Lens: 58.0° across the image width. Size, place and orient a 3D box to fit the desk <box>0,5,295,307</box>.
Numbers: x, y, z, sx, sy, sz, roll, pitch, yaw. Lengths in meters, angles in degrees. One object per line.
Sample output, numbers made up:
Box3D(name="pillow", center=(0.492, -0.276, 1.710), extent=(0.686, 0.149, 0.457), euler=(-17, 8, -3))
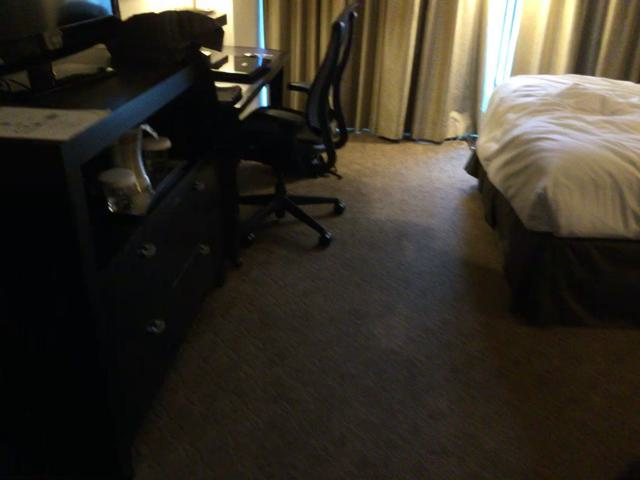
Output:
Box3D(name="desk", center=(-0.630, -0.540, 2.800), extent=(0.760, 0.980, 1.550), euler=(4, 27, 7))

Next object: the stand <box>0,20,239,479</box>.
Box3D(name="stand", center=(-0.720, -0.050, 1.800), extent=(0.600, 1.070, 1.130), euler=(4, 27, 7))

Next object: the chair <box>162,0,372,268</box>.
Box3D(name="chair", center=(-0.200, -0.580, 2.790), extent=(0.740, 1.160, 0.680), euler=(7, 27, 13))
